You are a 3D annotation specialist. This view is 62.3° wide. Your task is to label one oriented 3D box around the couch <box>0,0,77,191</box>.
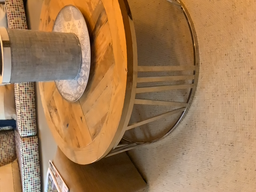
[{"bbox_3d":[-1.210,0.030,2.340,1.180,0.650,2.270,-2,93,51],"label":"couch"}]
